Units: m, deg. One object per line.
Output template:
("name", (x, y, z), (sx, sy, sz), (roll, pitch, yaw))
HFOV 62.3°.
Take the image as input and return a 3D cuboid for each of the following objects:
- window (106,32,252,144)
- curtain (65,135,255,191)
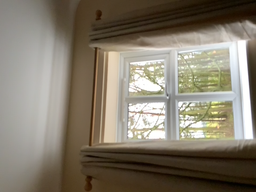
("window", (0.360, -0.050, 1.750), (0.080, 1.110, 0.830), (26, -116, -70))
("curtain", (0.310, 0.390, 1.280), (0.220, 1.440, 0.260), (30, -120, -69))
